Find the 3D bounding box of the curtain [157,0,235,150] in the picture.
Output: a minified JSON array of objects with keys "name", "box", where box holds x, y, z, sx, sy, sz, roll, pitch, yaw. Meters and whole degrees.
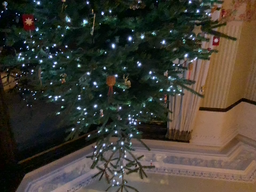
[{"name":"curtain","box":[0.910,-0.750,2.880,0.710,3.330,0.350,2,-157,0]}]
